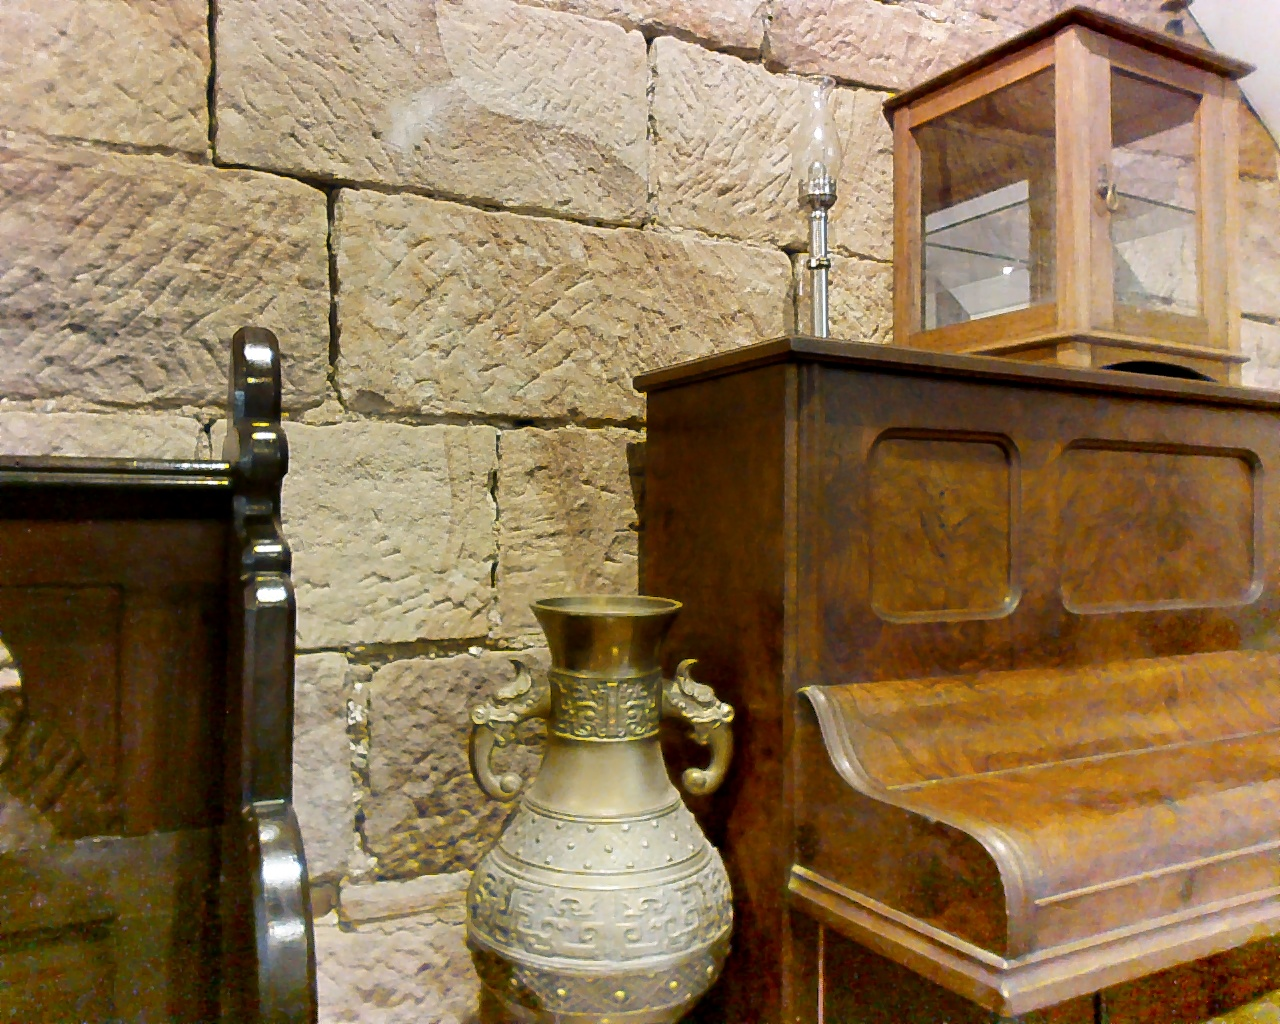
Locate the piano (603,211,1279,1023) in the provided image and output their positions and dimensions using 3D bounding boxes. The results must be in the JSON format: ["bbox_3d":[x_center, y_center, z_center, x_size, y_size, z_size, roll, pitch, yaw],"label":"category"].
[{"bbox_3d":[0.630,0.440,1.530,1.140,1.391,0.760,1,0,-28],"label":"piano"}]
